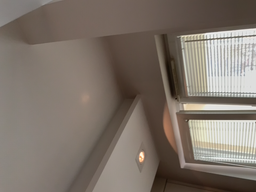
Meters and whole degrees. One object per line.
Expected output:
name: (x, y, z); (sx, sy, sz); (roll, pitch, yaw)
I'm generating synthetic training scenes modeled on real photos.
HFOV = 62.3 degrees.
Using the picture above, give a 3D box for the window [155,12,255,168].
window: (1.070, 0.080, 1.630); (0.120, 1.510, 1.430); (-59, -38, -44)
